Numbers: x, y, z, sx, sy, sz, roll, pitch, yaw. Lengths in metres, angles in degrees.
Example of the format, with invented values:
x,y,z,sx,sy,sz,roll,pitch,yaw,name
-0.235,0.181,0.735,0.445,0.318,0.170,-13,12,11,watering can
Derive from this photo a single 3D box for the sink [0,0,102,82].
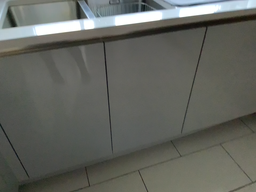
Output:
x,y,z,sx,sy,sz,roll,pitch,yaw,name
-0.360,-0.300,0.960,0.380,0.220,0.410,-12,41,-15,sink

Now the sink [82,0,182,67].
x,y,z,sx,sy,sz,roll,pitch,yaw,name
-0.010,-0.370,1.060,0.350,0.220,0.410,-12,41,-15,sink

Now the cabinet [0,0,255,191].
x,y,z,sx,sy,sz,roll,pitch,yaw,name
0.110,-0.150,1.330,1.580,0.900,0.630,-12,41,-15,cabinet
